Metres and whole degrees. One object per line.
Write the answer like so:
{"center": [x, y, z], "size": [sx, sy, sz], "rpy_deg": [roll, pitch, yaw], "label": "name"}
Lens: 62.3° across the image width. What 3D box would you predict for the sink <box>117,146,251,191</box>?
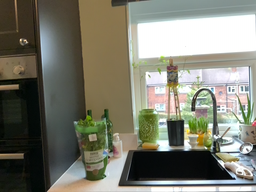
{"center": [0.260, 0.450, 1.170], "size": [0.570, 0.190, 0.500], "rpy_deg": [-2, 3, 5], "label": "sink"}
